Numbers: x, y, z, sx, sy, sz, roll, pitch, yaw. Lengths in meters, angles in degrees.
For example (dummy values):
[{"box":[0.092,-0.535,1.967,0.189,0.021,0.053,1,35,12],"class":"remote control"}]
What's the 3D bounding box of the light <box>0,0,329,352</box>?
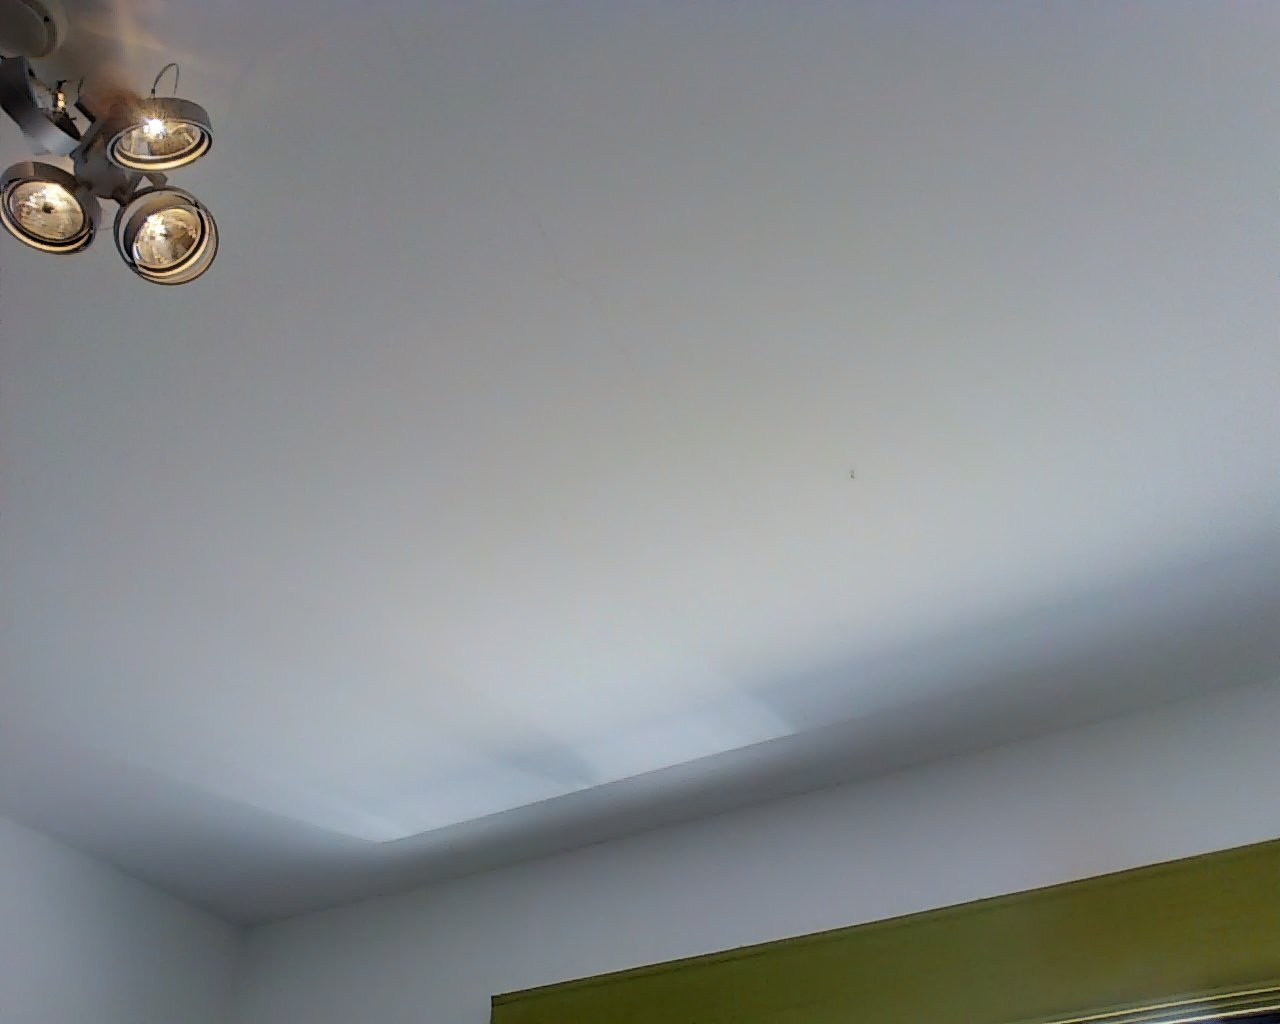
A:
[{"box":[-0.700,-0.500,1.440,0.210,0.410,0.360,-2,-38,36],"class":"light"}]
